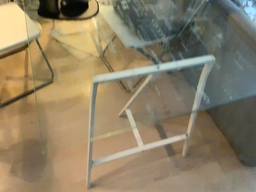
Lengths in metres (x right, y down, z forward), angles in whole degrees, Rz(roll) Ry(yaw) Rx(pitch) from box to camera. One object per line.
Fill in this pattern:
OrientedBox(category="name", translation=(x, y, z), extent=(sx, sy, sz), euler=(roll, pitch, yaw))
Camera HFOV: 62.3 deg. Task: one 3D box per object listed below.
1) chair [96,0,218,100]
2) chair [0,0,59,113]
OrientedBox(category="chair", translation=(0.140, -0.450, 1.360), extent=(0.540, 0.770, 0.420), euler=(-25, 62, -24))
OrientedBox(category="chair", translation=(-0.780, -0.390, 1.190), extent=(0.440, 0.770, 0.530), euler=(-34, 66, -28))
